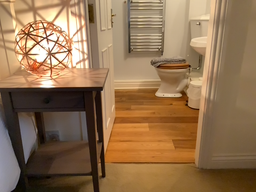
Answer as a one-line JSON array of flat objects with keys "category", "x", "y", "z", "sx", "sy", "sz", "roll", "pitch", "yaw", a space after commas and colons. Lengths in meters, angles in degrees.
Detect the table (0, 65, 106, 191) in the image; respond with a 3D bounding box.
[{"category": "table", "x": -0.370, "y": 0.220, "z": 1.110, "sx": 0.450, "sy": 0.690, "sz": 0.390, "roll": -1, "pitch": 20, "yaw": -1}]
